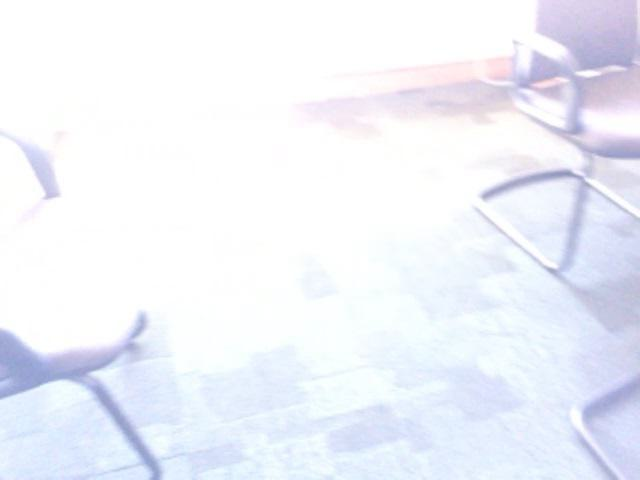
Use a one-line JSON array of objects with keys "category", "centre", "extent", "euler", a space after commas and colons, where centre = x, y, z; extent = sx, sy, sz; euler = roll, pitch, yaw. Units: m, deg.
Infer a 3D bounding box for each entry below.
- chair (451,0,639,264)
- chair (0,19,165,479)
[{"category": "chair", "centre": [0.870, -0.460, 1.690], "extent": [0.680, 0.680, 0.580], "euler": [-18, 40, -19]}, {"category": "chair", "centre": [-0.640, 0.020, 1.060], "extent": [0.560, 0.600, 0.590], "euler": [-11, 38, -10]}]
